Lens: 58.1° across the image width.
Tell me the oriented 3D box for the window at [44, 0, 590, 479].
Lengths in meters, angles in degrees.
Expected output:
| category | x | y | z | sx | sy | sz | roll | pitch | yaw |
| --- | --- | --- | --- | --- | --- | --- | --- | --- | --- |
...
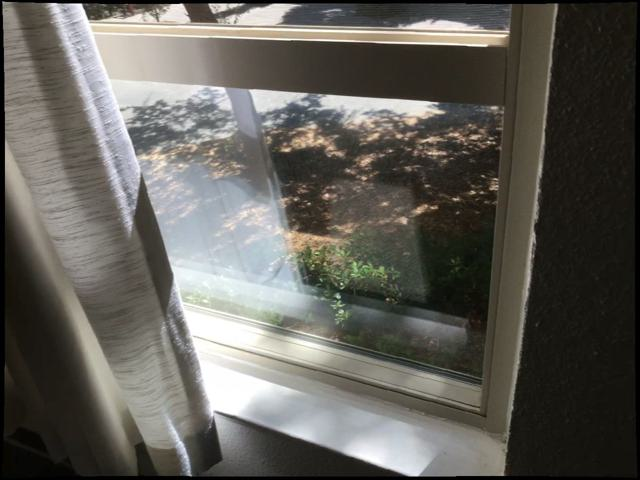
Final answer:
| category | x | y | z | sx | sy | sz | roll | pitch | yaw |
| --- | --- | --- | --- | --- | --- | --- | --- | --- | --- |
| window | -0.020 | -0.090 | 0.770 | 0.619 | 1.032 | 0.140 | 10 | 34 | 21 |
